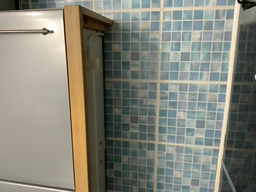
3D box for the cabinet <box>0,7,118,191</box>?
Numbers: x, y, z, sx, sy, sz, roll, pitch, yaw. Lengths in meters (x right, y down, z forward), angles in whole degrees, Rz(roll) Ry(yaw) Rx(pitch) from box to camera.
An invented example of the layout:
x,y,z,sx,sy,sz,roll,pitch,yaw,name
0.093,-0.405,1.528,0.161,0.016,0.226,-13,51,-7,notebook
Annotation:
x,y,z,sx,sy,sz,roll,pitch,yaw,name
-0.480,0.310,0.840,0.320,0.830,1.170,-52,-36,-72,cabinet
